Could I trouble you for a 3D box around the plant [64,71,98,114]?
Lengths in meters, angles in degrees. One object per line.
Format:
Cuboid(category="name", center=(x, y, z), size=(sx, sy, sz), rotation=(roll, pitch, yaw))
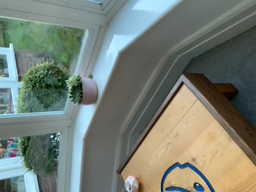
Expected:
Cuboid(category="plant", center=(-0.270, -0.020, 1.200), size=(0.160, 0.110, 0.170), rotation=(59, 136, 35))
